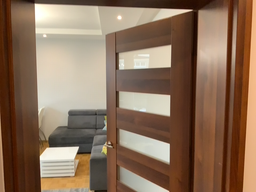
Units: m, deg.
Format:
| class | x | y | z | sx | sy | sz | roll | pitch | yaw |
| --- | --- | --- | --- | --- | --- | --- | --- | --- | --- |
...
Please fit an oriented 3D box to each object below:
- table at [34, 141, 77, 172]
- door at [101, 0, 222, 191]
| class | x | y | z | sx | sy | sz | roll | pitch | yaw |
| --- | --- | --- | --- | --- | --- | --- | --- | --- | --- |
| table | -1.250 | 1.050 | 3.770 | 0.610 | 0.310 | 0.620 | -1 | 6 | -7 |
| door | 0.140 | 0.450 | 1.520 | 0.120 | 2.070 | 0.920 | -5 | 8 | -43 |
